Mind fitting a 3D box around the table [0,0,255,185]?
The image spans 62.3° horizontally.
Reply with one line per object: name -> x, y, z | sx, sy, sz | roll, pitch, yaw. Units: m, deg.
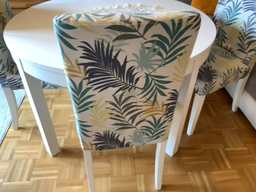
table -> -0.110, -0.160, 1.450 | 1.170, 0.740, 1.130 | -2, 39, -5
